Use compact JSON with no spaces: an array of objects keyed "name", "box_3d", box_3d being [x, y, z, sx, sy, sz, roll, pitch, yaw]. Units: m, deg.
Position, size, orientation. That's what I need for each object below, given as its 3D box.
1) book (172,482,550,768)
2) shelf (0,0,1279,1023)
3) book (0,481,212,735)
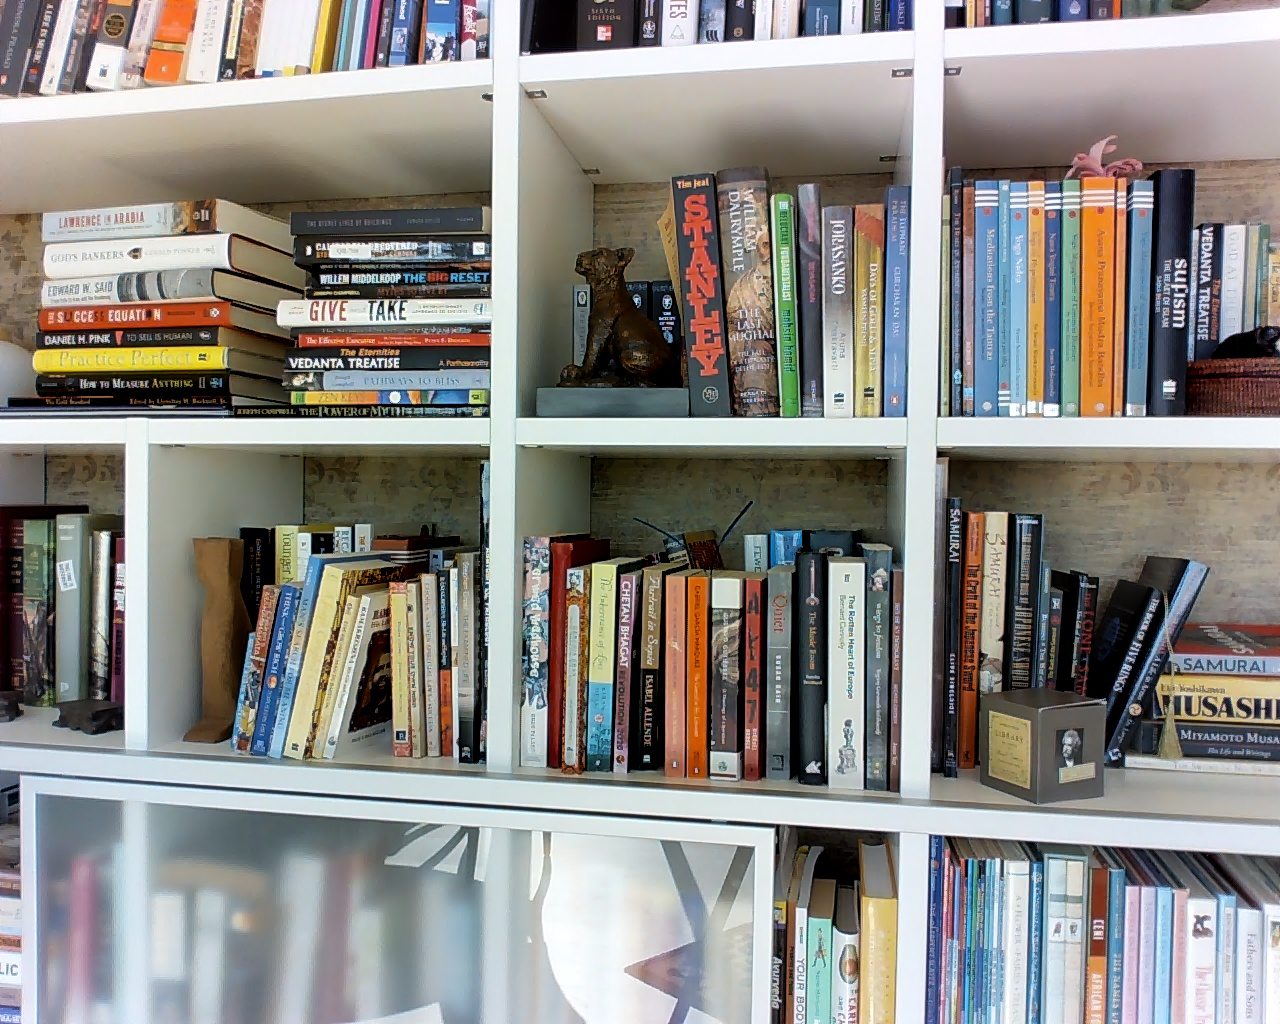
[{"name":"book","box_3d":[-0.300,0.110,1.190,0.360,0.280,0.180,1,2,10]},{"name":"shelf","box_3d":[-0.620,-0.050,1.280,3.269,2.761,0.330,1,2,10]},{"name":"book","box_3d":[-0.700,0.100,1.280,0.290,0.270,0.200,1,2,10]}]
